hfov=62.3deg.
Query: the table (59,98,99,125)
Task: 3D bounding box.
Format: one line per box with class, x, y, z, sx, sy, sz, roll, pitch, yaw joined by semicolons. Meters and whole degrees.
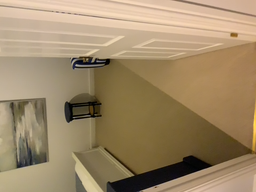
table;-0.940;0.280;4.060;0.400;0.640;0.390;14;105;59
